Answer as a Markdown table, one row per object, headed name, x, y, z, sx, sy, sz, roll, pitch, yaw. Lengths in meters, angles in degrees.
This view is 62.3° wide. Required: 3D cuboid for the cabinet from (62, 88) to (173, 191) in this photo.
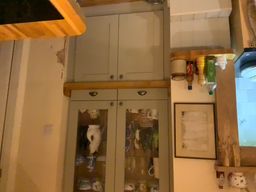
| name | x | y | z | sx | sy | sz | roll | pitch | yaw |
| --- | --- | --- | --- | --- | --- | --- | --- | --- | --- |
| cabinet | -0.080 | 0.570 | 2.120 | 1.010 | 1.220 | 0.350 | -1 | 170 | 10 |
